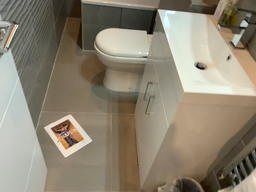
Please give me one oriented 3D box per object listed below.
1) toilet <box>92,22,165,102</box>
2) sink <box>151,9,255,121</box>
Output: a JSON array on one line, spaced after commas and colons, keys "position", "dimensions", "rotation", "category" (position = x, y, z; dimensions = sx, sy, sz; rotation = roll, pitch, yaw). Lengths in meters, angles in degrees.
[{"position": [-0.030, -0.280, 1.800], "dimensions": [0.510, 0.470, 0.420], "rotation": [3, 46, -7], "category": "toilet"}, {"position": [0.330, -0.180, 0.970], "dimensions": [0.360, 0.130, 0.620], "rotation": [3, 46, -7], "category": "sink"}]
